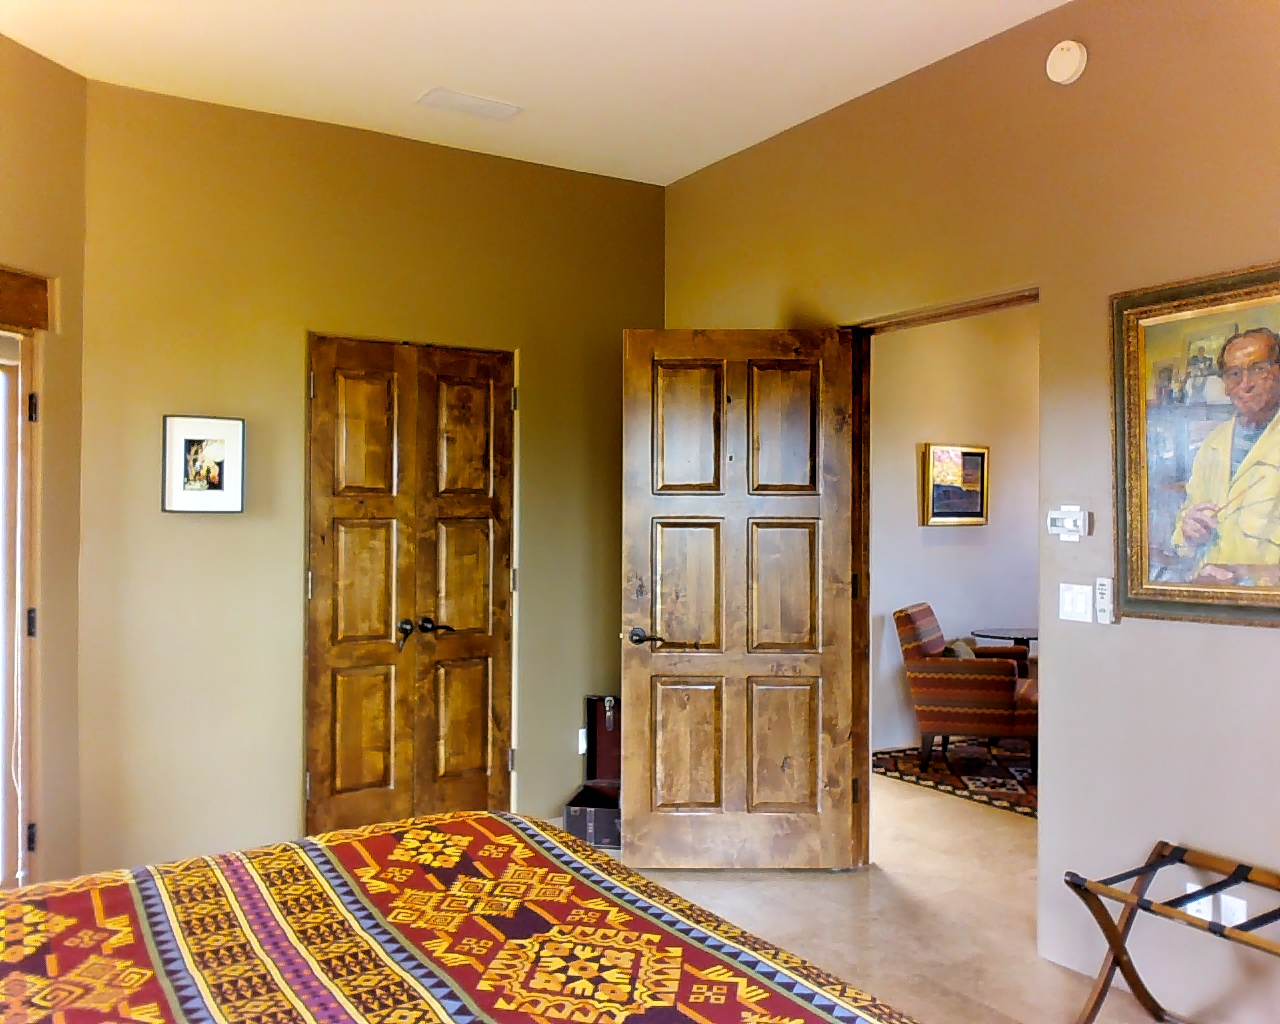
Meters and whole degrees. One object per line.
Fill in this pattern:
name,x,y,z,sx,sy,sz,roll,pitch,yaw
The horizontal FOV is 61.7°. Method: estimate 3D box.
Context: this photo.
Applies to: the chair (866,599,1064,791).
chair,1.870,0.990,6.110,0.980,0.910,0.840,0,-1,23
